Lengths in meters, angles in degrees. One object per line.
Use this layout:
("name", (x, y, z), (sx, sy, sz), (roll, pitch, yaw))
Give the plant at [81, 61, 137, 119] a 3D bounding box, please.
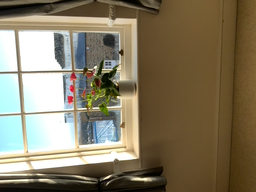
("plant", (-0.140, -0.050, 1.540), (0.180, 0.380, 0.390), (-160, 68, -76))
